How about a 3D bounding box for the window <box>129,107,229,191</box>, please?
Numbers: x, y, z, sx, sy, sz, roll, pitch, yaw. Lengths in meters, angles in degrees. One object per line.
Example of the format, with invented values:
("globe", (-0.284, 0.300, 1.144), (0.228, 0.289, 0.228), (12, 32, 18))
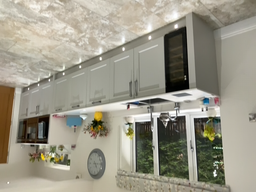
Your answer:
("window", (0.640, 0.800, 3.270), (1.650, 1.100, 0.050), (-10, 164, 43))
